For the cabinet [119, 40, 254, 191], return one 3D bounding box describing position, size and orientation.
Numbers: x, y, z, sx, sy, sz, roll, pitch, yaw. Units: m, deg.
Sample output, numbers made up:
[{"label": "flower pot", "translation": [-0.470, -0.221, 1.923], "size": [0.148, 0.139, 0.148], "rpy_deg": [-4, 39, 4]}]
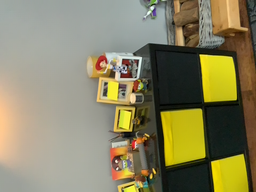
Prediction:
[{"label": "cabinet", "translation": [0.420, 0.410, 1.530], "size": [0.450, 0.760, 1.450], "rpy_deg": [-11, 82, 62]}]
